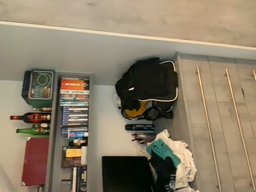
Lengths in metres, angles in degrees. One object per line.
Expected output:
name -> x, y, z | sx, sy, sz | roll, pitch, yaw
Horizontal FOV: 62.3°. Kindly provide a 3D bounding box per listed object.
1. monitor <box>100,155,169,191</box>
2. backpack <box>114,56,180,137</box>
monitor -> 0.050, 0.580, 1.300 | 0.540, 0.400, 0.030 | -109, 25, -56
backpack -> 0.090, 0.040, 1.450 | 0.480, 0.280, 0.410 | 126, 144, -66
